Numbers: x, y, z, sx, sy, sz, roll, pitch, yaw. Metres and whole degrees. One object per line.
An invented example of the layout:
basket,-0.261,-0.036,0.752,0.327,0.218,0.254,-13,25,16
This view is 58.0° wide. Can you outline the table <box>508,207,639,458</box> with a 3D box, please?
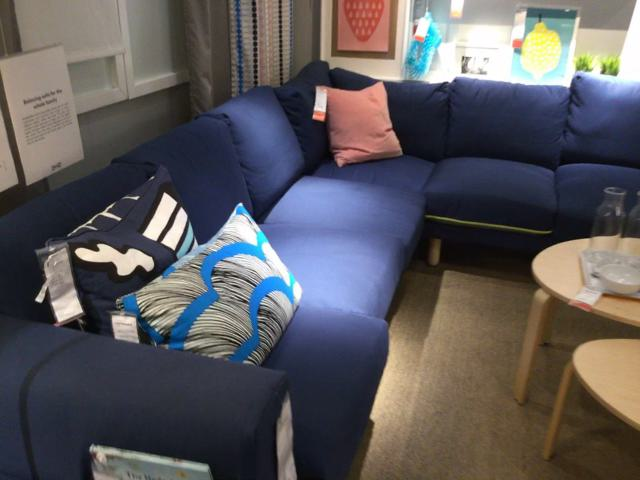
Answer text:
table,1.040,0.270,1.910,0.740,0.530,0.690,4,23,19
